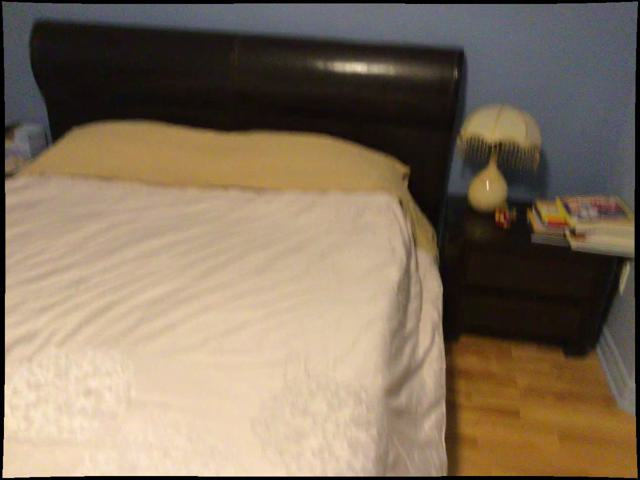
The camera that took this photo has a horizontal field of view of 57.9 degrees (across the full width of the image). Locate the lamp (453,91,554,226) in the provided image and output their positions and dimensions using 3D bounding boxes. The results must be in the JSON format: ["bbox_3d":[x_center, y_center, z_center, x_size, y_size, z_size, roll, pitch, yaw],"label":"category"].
[{"bbox_3d":[0.679,-0.320,2.210,0.280,0.410,0.320,5,28,9],"label":"lamp"}]

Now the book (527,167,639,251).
[{"bbox_3d":[0.979,-0.130,2.170,0.310,0.120,0.440,5,28,9],"label":"book"}]

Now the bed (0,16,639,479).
[{"bbox_3d":[-0.519,0.080,1.620,1.958,1.031,2.270,5,28,9],"label":"bed"}]
